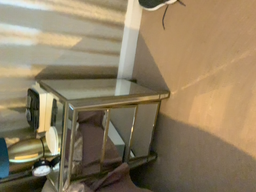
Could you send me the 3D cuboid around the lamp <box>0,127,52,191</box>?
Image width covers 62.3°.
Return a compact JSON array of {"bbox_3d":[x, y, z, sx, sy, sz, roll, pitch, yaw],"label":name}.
[{"bbox_3d":[-0.580,0.300,1.010,0.230,0.340,0.180,23,111,46],"label":"lamp"}]
